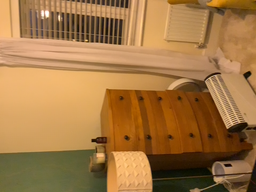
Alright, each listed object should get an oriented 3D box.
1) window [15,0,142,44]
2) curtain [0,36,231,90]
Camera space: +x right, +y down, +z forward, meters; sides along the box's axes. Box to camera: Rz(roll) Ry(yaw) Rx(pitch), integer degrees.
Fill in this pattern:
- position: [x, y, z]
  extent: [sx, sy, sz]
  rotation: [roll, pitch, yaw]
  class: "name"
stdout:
- position: [-0.420, -0.890, 1.950]
  extent: [0.160, 1.100, 0.710]
  rotation: [-125, 38, -67]
  class: "window"
- position: [-0.130, -0.290, 1.980]
  extent: [0.270, 2.270, 0.330]
  rotation: [-124, 38, -66]
  class: "curtain"
